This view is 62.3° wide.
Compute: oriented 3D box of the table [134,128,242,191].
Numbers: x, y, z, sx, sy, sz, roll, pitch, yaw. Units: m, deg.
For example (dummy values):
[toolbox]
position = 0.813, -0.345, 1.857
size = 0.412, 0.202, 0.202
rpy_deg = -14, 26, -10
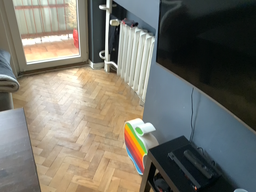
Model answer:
[table]
position = 0.410, 0.680, 1.100
size = 0.290, 0.450, 0.940
rpy_deg = -14, 42, -25
